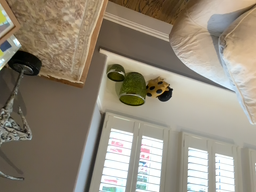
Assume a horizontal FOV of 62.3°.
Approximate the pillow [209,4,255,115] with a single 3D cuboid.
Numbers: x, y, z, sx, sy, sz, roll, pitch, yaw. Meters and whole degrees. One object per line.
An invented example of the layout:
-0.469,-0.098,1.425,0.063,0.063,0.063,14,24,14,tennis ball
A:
0.590,-0.130,0.900,0.430,0.300,0.390,2,154,16,pillow
